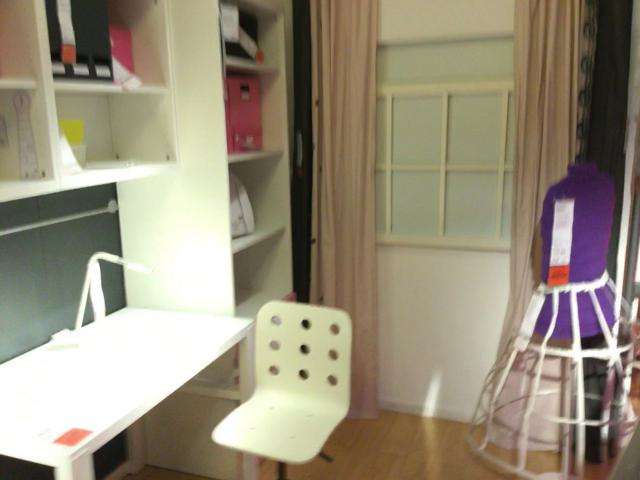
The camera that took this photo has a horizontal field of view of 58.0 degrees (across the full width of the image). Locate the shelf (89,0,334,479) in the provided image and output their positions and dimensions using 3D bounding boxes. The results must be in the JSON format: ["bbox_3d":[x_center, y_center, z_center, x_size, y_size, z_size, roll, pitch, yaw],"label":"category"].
[{"bbox_3d":[-0.390,-0.030,2.510,0.600,1.940,0.770,1,10,21],"label":"shelf"}]
